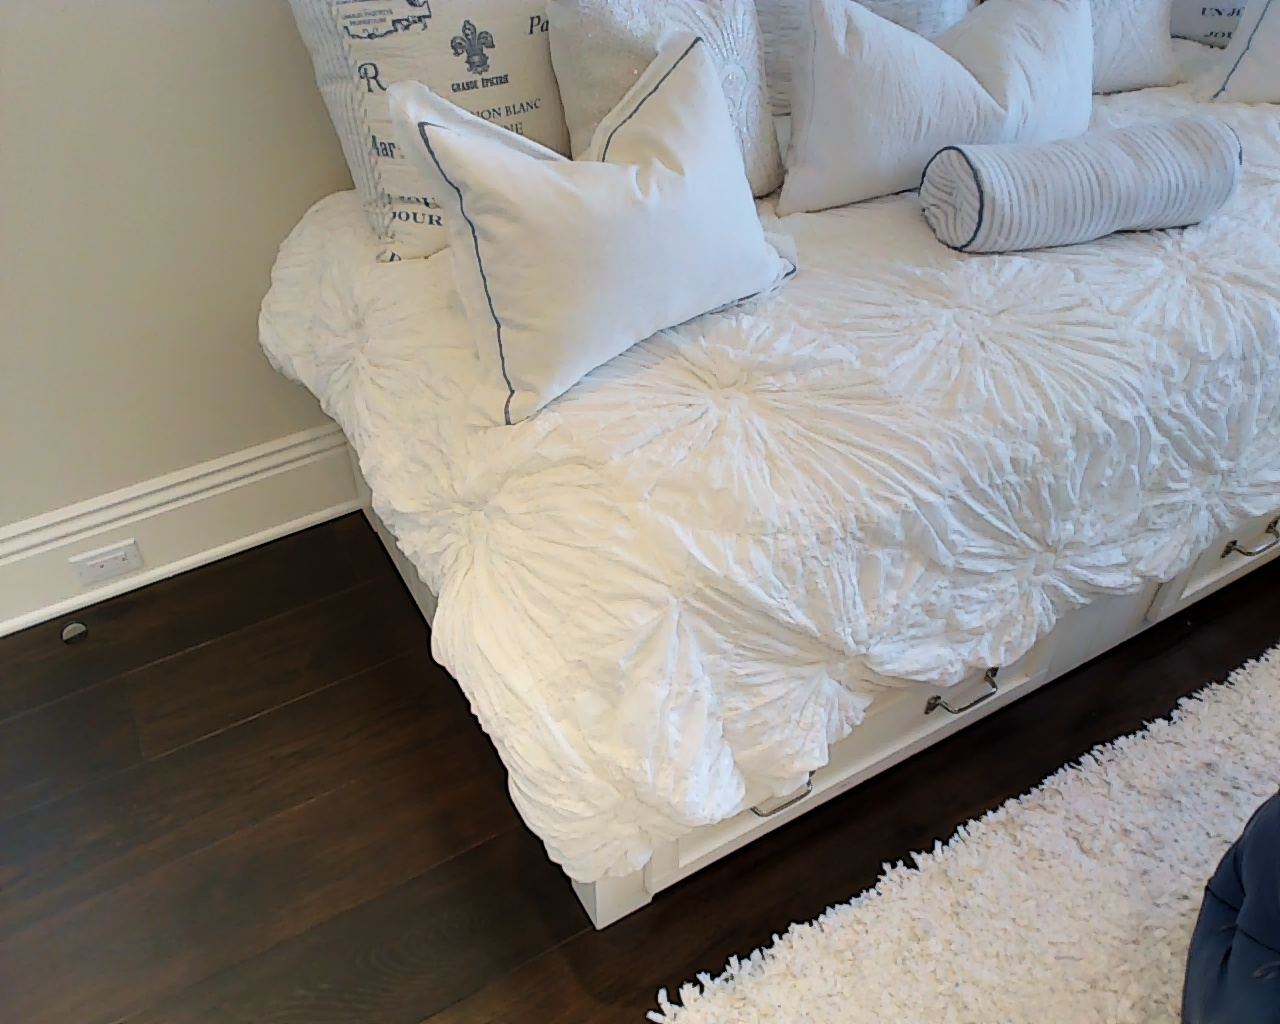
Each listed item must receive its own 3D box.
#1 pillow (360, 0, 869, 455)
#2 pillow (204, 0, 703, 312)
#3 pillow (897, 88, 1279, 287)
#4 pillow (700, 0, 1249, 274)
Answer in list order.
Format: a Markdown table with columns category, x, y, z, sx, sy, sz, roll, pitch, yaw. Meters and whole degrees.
| category | x | y | z | sx | sy | sz | roll | pitch | yaw |
| --- | --- | --- | --- | --- | --- | --- | --- | --- | --- |
| pillow | -0.030 | -0.360 | 1.290 | 0.460 | 0.330 | 0.320 | -23 | 47 | -24 |
| pillow | -0.260 | -0.730 | 1.540 | 0.430 | 0.600 | 0.530 | 47 | 54 | 11 |
| pillow | 0.660 | -0.480 | 1.560 | 0.490 | 0.140 | 0.230 | -11 | 43 | -12 |
| pillow | 0.490 | -0.680 | 1.660 | 0.660 | 0.370 | 0.320 | -17 | 62 | -20 |
